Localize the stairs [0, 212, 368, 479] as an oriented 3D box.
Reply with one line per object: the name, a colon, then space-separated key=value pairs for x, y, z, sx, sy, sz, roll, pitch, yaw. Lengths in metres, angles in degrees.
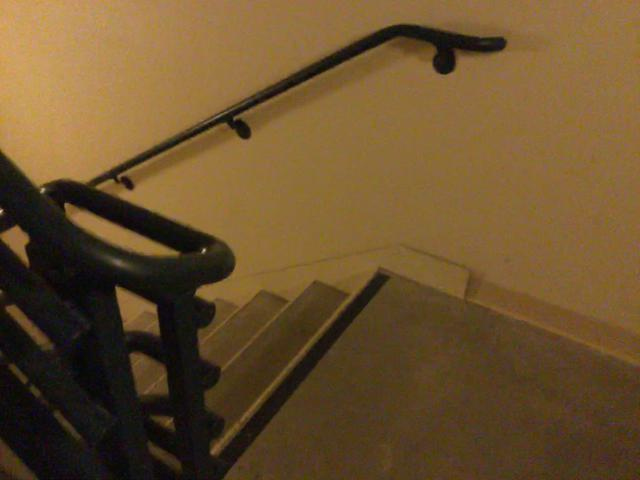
stairs: x=-0.450 y=0.450 z=2.160 sx=0.890 sy=0.470 sz=0.950 roll=20 pitch=43 yaw=26
